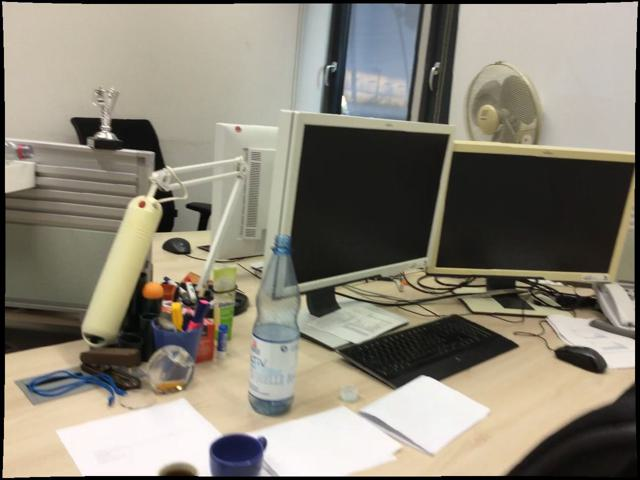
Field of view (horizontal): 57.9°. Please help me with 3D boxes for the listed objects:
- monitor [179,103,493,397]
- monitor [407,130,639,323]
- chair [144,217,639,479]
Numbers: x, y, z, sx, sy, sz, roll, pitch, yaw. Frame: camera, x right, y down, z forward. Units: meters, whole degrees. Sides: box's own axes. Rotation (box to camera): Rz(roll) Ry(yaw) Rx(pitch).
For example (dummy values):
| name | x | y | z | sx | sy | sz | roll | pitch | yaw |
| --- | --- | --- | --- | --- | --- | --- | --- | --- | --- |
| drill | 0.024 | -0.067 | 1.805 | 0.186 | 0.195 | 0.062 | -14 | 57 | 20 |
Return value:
| name | x | y | z | sx | sy | sz | roll | pitch | yaw |
| --- | --- | --- | --- | --- | --- | --- | --- | --- | --- |
| monitor | 0.050 | -0.030 | 1.320 | 0.660 | 0.510 | 0.300 | -9 | 18 | -41 |
| monitor | 0.569 | -0.050 | 1.550 | 0.609 | 0.440 | 0.220 | -5 | 8 | -5 |
| chair | 0.190 | 0.541 | 0.990 | 0.670 | 0.981 | 0.760 | -9 | 18 | -41 |
